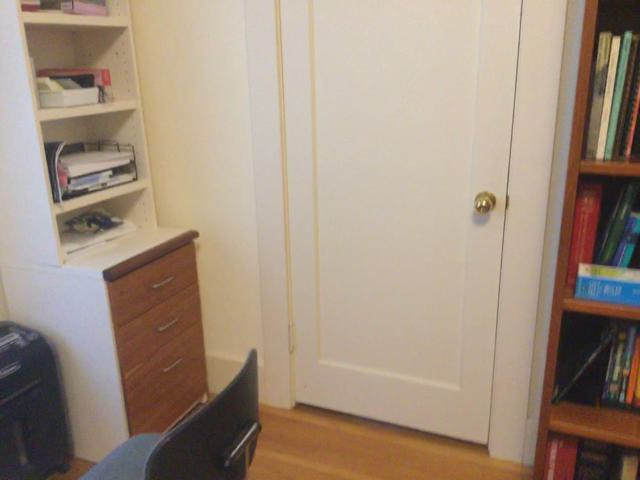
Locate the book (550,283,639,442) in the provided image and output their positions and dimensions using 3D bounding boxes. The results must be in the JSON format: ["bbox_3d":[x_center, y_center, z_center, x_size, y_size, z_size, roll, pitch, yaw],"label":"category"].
[{"bbox_3d":[0.970,0.330,1.510,0.670,0.310,0.290,3,16,22],"label":"book"}]

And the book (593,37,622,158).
[{"bbox_3d":[0.670,-0.330,1.350,0.040,0.270,0.040,3,16,22],"label":"book"}]

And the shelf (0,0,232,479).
[{"bbox_3d":[-0.770,-0.350,1.890,0.510,2.160,0.600,3,16,22],"label":"shelf"}]

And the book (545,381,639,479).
[{"bbox_3d":[0.830,0.640,1.680,0.320,0.320,0.270,3,16,22],"label":"book"}]

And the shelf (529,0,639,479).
[{"bbox_3d":[0.980,0.000,1.410,0.830,1.790,0.360,3,18,22],"label":"shelf"}]

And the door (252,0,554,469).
[{"bbox_3d":[0.240,-0.250,1.800,0.870,1.980,0.090,3,16,22],"label":"door"}]
